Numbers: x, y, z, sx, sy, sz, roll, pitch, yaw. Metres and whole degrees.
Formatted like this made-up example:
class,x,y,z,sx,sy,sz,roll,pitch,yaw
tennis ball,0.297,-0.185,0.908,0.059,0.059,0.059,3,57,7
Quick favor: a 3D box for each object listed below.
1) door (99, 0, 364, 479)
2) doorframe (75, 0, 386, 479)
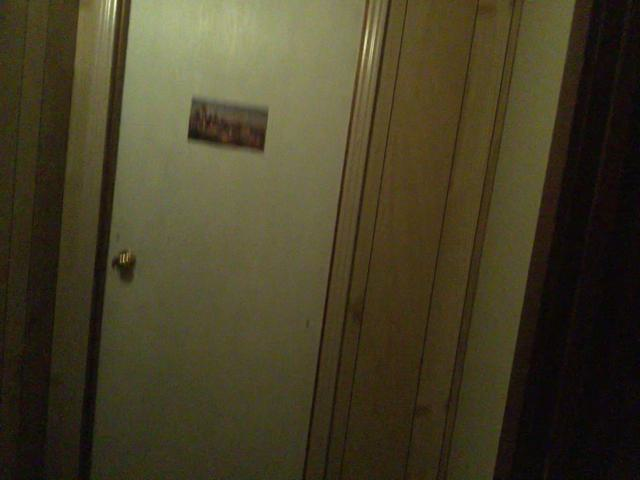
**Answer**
class,x,y,z,sx,sy,sz,roll,pitch,yaw
door,-0.320,0.120,1.890,0.810,2.010,0.050,4,7,6
doorframe,-0.310,0.100,1.840,0.920,2.090,0.130,4,7,6
